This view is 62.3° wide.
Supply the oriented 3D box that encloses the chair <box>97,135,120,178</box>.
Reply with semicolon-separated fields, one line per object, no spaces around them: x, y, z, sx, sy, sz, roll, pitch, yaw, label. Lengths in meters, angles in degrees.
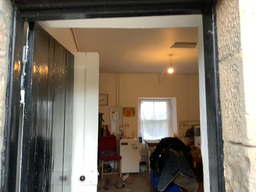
-0.500;1.480;5.310;0.480;0.930;0.550;1;-5;-16;chair
